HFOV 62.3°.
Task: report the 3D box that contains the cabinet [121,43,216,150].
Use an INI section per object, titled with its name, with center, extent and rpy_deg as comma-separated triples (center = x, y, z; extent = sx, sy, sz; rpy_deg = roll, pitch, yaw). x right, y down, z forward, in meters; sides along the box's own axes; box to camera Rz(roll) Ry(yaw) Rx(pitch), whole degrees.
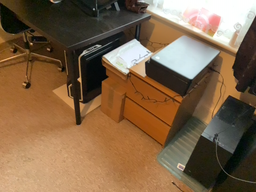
[cabinet]
center = 0.290, -0.010, 1.640
extent = 0.390, 0.540, 0.520
rpy_deg = 35, 49, 24
